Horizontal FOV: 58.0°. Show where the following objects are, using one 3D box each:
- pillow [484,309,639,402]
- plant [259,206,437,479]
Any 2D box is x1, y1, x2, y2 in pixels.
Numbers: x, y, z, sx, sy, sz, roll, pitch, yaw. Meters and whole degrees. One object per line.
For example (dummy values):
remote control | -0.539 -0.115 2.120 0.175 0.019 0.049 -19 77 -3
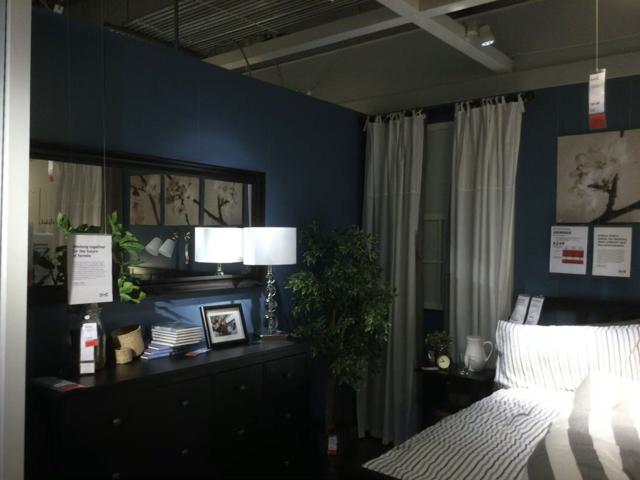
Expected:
pillow | 1.440 0.610 3.170 0.960 0.420 0.320 -6 -2 40
plant | 0.190 0.650 3.750 0.680 1.660 0.780 -6 -2 40
